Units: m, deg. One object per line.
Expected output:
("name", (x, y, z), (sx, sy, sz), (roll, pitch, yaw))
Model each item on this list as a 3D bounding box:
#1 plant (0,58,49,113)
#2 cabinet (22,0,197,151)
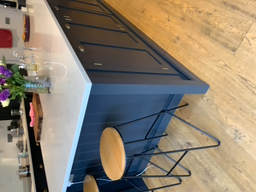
("plant", (-0.950, -0.090, 1.780), (0.330, 0.460, 0.320), (56, 135, 42))
("cabinet", (-0.620, -0.790, 2.580), (3.020, 0.940, 0.680), (54, 134, 43))
